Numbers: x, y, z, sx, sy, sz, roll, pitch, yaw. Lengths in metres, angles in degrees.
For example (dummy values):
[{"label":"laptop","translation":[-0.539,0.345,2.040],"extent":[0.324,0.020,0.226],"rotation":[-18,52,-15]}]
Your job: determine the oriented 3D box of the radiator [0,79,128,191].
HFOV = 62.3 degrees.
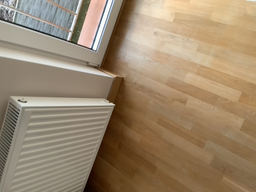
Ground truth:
[{"label":"radiator","translation":[-0.390,0.310,1.180],"extent":[0.170,0.710,0.730],"rotation":[30,103,28]}]
